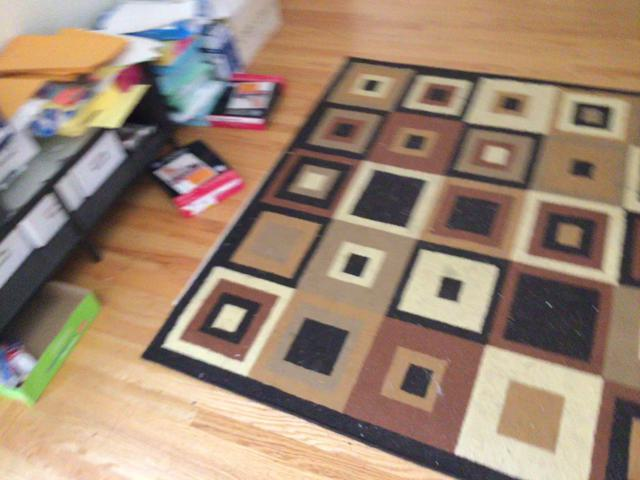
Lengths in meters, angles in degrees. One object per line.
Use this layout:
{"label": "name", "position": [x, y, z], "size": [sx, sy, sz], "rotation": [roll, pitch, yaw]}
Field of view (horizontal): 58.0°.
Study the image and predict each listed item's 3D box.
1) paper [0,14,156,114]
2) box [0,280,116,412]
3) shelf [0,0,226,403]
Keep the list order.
{"label": "paper", "position": [-0.760, -0.540, 1.730], "size": [0.380, 0.100, 0.360], "rotation": [11, 50, 22]}
{"label": "box", "position": [-0.740, 0.270, 1.550], "size": [0.220, 0.070, 0.330], "rotation": [8, 49, 20]}
{"label": "shelf", "position": [-0.830, -0.260, 1.620], "size": [0.450, 0.650, 1.190], "rotation": [11, 50, 22]}
